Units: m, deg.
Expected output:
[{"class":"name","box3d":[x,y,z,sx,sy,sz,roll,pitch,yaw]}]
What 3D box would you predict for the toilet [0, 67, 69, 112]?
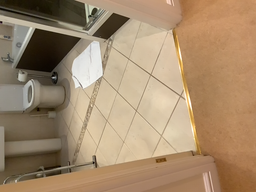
[{"class":"toilet","box3d":[-1.350,-0.050,2.860,0.650,0.870,0.380,-24,69,50]}]
